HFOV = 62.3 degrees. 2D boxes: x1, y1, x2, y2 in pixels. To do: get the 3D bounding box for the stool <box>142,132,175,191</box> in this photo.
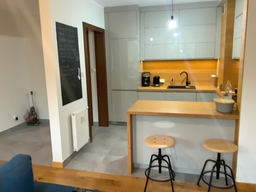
[{"bbox_3d":[0.360,0.770,2.480,0.340,0.580,0.340,2,11,14],"label":"stool"}]
